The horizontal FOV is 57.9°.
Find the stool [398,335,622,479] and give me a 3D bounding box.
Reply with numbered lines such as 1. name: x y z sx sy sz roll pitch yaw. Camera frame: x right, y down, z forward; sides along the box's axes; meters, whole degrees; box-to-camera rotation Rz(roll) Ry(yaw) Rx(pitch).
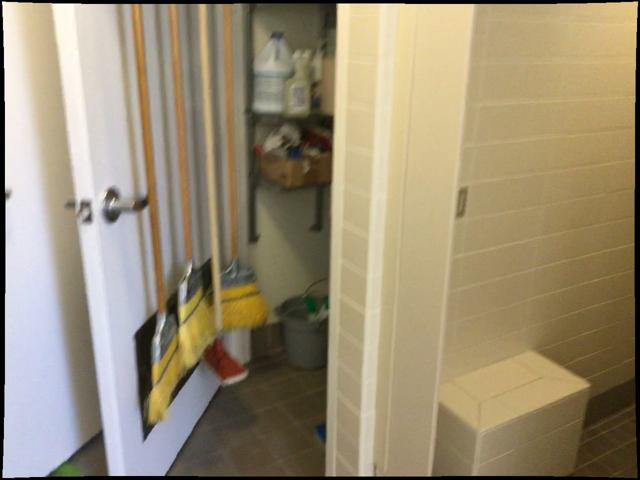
1. stool: 0.549 0.611 1.710 0.580 0.450 0.270 -11 23 -28

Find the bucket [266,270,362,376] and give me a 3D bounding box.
1. bucket: -0.030 0.360 2.610 0.310 0.310 0.310 -11 23 -28

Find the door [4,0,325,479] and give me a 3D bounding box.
1. door: -0.480 -0.230 1.810 0.709 1.982 0.750 -11 23 -28
